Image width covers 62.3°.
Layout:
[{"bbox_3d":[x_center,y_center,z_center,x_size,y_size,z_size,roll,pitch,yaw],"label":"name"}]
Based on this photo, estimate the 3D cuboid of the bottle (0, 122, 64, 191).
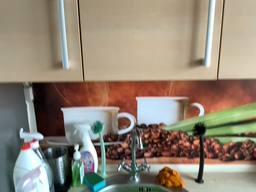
[{"bbox_3d":[-0.360,0.280,0.740,0.160,0.280,0.310,-1,14,1],"label":"bottle"}]
